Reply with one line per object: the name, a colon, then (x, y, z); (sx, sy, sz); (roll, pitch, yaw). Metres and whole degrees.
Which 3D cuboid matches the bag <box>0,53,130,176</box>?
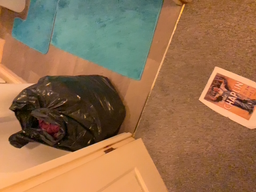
bag: (-0.390, 0.070, 1.320); (0.520, 0.460, 0.460); (30, 108, 27)
